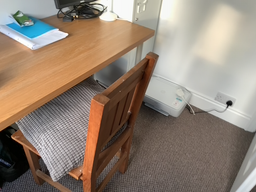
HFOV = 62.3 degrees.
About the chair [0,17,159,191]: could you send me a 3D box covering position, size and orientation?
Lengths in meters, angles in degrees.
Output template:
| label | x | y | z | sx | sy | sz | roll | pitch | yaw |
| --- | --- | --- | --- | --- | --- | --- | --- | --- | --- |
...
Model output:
| label | x | y | z | sx | sy | sz | roll | pitch | yaw |
| --- | --- | --- | --- | --- | --- | --- | --- | --- | --- |
| chair | -0.240 | 0.160 | 1.050 | 0.510 | 0.860 | 0.420 | 25 | 44 | 20 |
